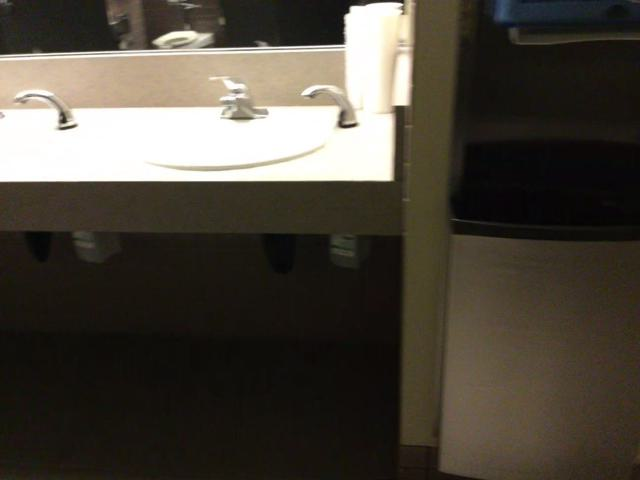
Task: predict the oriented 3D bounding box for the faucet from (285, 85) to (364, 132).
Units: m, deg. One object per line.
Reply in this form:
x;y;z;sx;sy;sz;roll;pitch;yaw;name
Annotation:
0.020;-0.360;1.570;0.180;0.070;0.240;2;27;8;faucet

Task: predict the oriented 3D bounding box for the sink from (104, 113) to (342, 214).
-0.210;-0.200;1.420;0.490;0.140;0.330;2;27;8;sink

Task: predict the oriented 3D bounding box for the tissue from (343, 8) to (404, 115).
0.150;-0.490;1.580;0.150;0.250;0.180;2;27;8;tissue

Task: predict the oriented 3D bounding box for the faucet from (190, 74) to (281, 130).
-0.230;-0.390;1.620;0.190;0.110;0.200;2;27;10;faucet

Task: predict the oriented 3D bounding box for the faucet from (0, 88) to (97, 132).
-0.810;-0.380;1.680;0.210;0.070;0.230;2;27;8;faucet
